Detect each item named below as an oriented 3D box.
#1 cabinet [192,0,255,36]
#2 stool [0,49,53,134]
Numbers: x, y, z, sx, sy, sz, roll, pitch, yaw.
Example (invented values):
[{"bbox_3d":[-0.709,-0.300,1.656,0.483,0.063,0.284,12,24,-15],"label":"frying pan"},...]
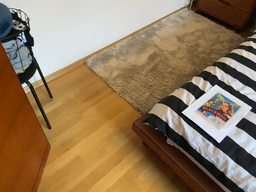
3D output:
[{"bbox_3d":[1.150,-1.070,2.360,0.430,0.430,0.620,-34,61,-28],"label":"cabinet"},{"bbox_3d":[-0.680,-0.020,1.350,0.280,0.440,0.310,-5,51,-9],"label":"stool"}]
